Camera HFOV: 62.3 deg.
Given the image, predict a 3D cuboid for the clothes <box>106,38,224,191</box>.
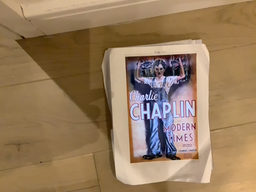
[{"bbox_3d":[0.080,0.040,0.450,0.220,0.030,0.300,-6,93,-4],"label":"clothes"}]
